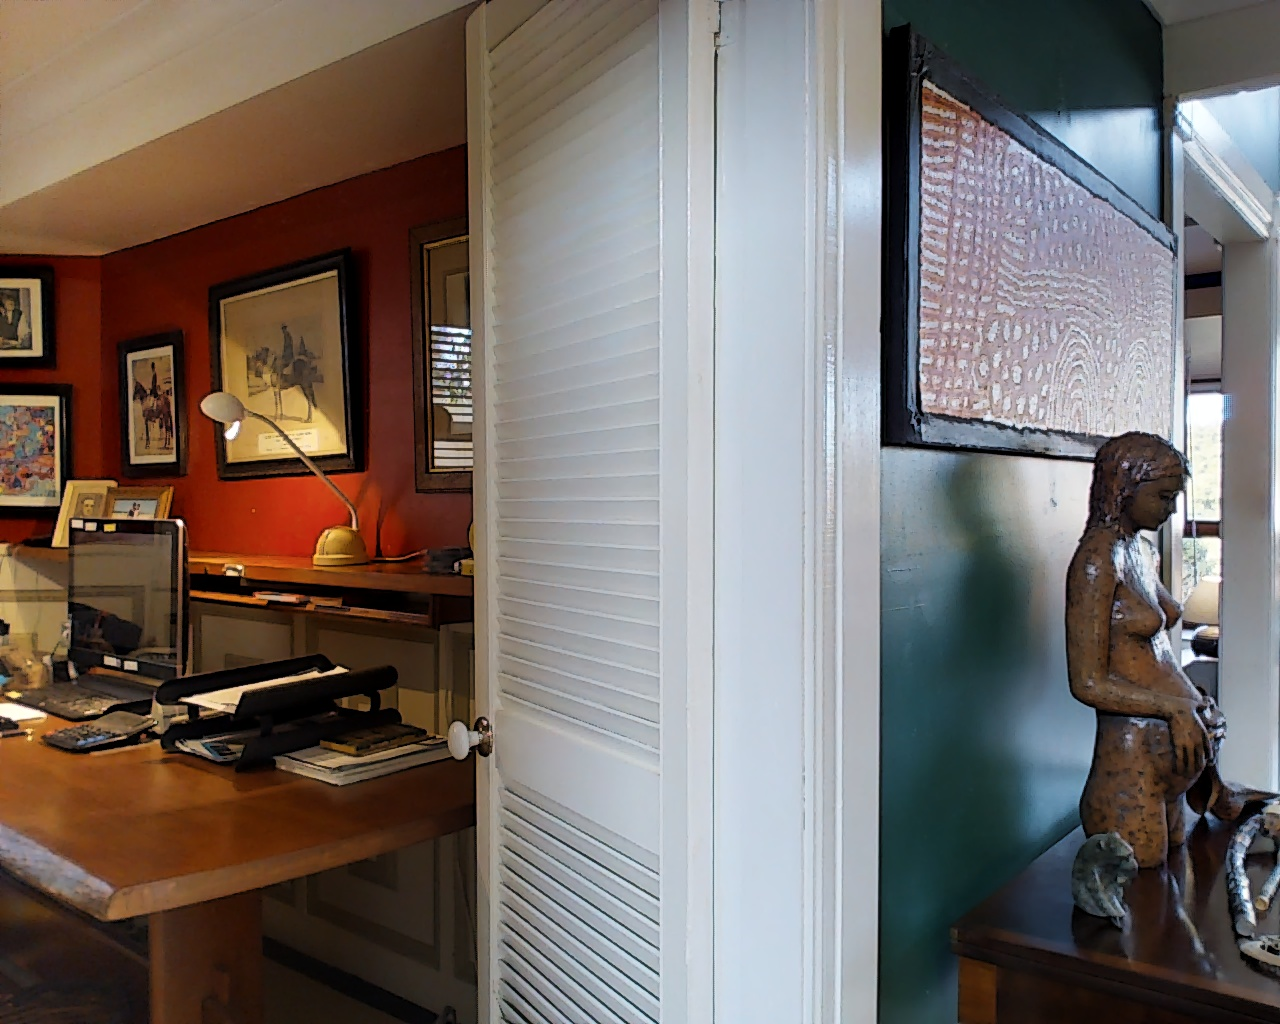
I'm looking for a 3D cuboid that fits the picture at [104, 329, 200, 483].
[{"bbox_3d":[-1.569,-0.330,3.450,0.420,0.470,0.070,1,1,34],"label":"picture"}]

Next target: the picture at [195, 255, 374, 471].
[{"bbox_3d":[-1.010,-0.390,3.010,0.700,0.540,0.110,1,1,38],"label":"picture"}]

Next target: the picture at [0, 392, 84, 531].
[{"bbox_3d":[-2.149,-0.170,3.640,0.500,0.470,0.030,0,1,-6],"label":"picture"}]

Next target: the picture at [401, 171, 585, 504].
[{"bbox_3d":[-0.350,-0.370,2.460,0.570,0.700,0.040,1,1,39],"label":"picture"}]

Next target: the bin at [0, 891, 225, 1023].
[{"bbox_3d":[-1.160,1.030,2.080,0.510,0.360,0.450,1,1,33],"label":"bin"}]
